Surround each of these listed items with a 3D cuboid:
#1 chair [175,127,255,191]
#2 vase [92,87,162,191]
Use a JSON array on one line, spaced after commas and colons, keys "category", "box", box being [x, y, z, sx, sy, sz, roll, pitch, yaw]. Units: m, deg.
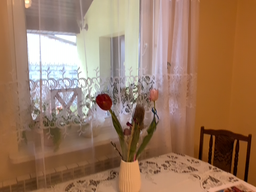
[{"category": "chair", "box": [0.690, 0.790, 1.700, 0.460, 0.900, 0.520, 7, 10, 33]}, {"category": "vase", "box": [-0.010, 0.280, 1.180, 0.320, 0.630, 0.200, -4, 10, -30]}]
